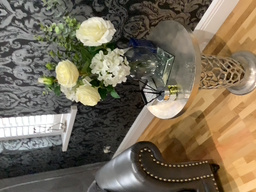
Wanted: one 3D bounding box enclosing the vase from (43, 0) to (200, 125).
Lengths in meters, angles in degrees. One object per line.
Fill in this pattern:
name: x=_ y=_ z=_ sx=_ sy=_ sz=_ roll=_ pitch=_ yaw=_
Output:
vase: x=-0.070 y=-0.140 z=0.980 sx=0.410 sy=0.560 sz=0.320 roll=-64 pitch=37 yaw=43
